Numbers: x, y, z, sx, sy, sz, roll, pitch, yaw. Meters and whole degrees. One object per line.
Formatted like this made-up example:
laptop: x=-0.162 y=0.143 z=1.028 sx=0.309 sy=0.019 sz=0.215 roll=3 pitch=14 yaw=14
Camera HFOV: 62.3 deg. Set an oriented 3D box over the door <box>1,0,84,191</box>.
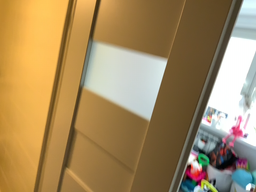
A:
door: x=-0.700 y=0.190 z=1.550 sx=0.610 sy=1.800 sz=0.070 roll=26 pitch=17 yaw=40
